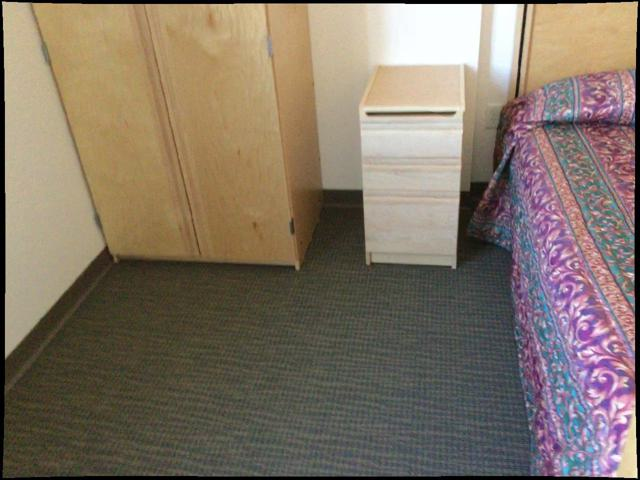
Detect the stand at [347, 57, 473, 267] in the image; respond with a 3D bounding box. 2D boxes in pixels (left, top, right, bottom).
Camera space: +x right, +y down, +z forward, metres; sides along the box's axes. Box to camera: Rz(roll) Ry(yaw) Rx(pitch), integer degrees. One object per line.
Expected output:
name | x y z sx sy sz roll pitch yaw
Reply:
stand | 0.410 -0.350 2.510 0.440 0.700 0.580 4 35 14
